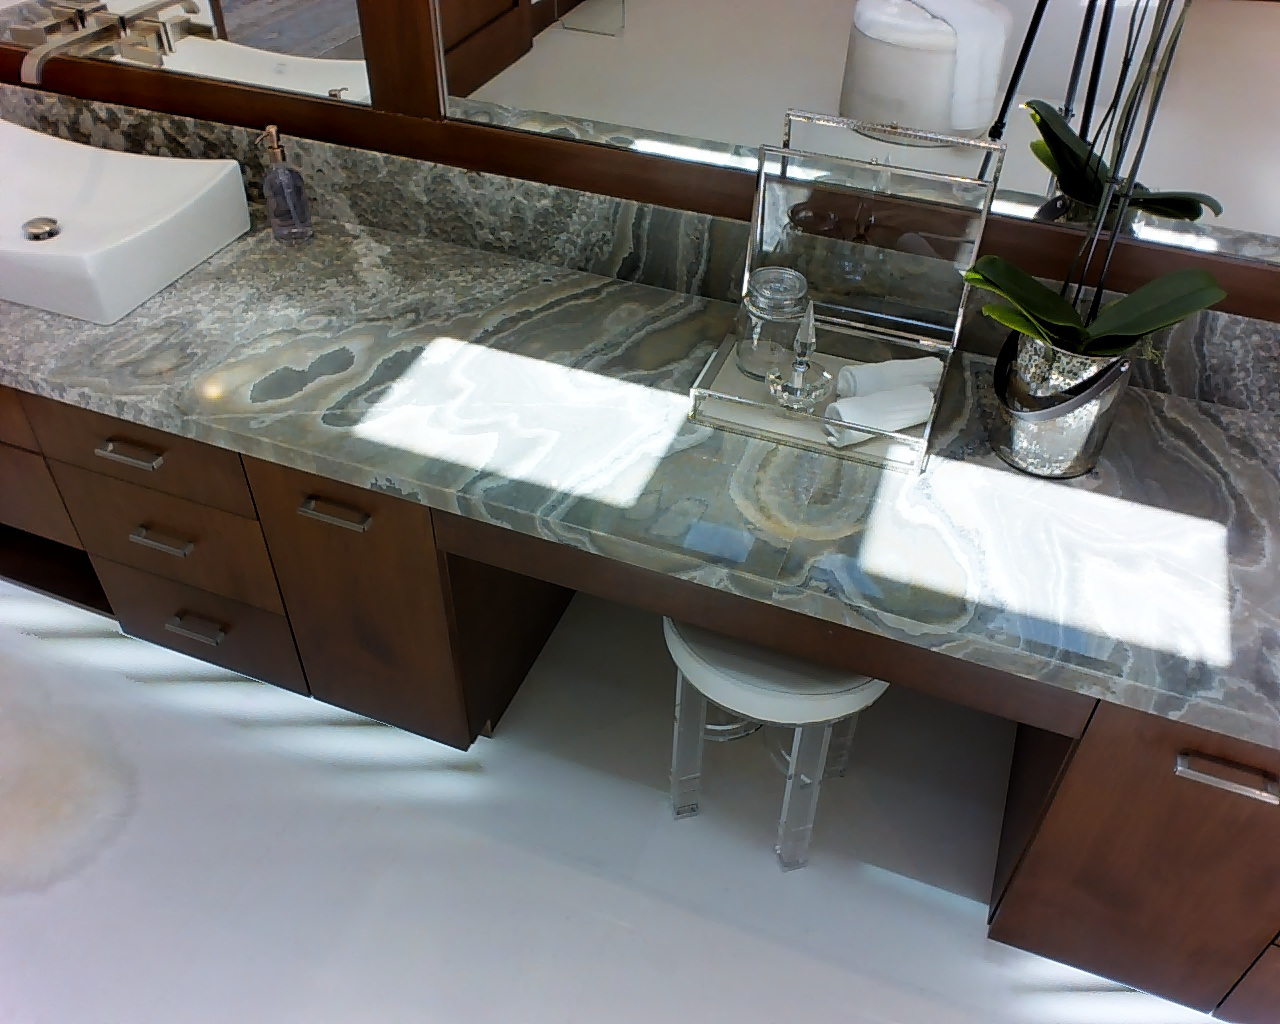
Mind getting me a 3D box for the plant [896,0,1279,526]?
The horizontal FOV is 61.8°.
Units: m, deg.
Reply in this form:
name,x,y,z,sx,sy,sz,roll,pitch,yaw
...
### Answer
name,x,y,z,sx,sy,sz,roll,pitch,yaw
plant,0.610,-0.440,1.330,0.330,0.830,0.300,32,50,31
